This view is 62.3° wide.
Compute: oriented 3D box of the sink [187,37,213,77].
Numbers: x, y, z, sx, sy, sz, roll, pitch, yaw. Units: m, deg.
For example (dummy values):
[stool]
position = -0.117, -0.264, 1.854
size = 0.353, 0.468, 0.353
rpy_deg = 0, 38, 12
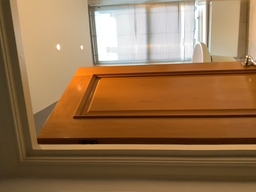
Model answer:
[sink]
position = 0.950, -0.530, 2.860
size = 0.600, 0.180, 0.480
rpy_deg = -69, -21, -77
